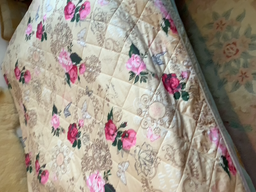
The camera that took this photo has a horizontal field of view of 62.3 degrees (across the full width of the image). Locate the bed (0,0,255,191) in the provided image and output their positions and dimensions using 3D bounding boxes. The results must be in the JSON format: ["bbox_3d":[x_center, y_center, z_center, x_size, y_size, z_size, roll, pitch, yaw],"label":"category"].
[{"bbox_3d":[-0.150,0.180,1.300,1.290,0.670,2.030,-28,70,33],"label":"bed"}]
